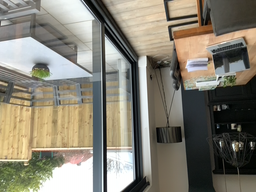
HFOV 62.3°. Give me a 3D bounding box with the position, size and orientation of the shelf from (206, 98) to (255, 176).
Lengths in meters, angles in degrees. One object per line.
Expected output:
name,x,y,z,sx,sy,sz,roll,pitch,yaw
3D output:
shelf,2.320,0.770,4.080,1.370,1.390,0.410,-5,170,15

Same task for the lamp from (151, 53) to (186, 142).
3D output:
lamp,0.850,0.060,4.480,0.570,1.750,0.550,-4,170,12
